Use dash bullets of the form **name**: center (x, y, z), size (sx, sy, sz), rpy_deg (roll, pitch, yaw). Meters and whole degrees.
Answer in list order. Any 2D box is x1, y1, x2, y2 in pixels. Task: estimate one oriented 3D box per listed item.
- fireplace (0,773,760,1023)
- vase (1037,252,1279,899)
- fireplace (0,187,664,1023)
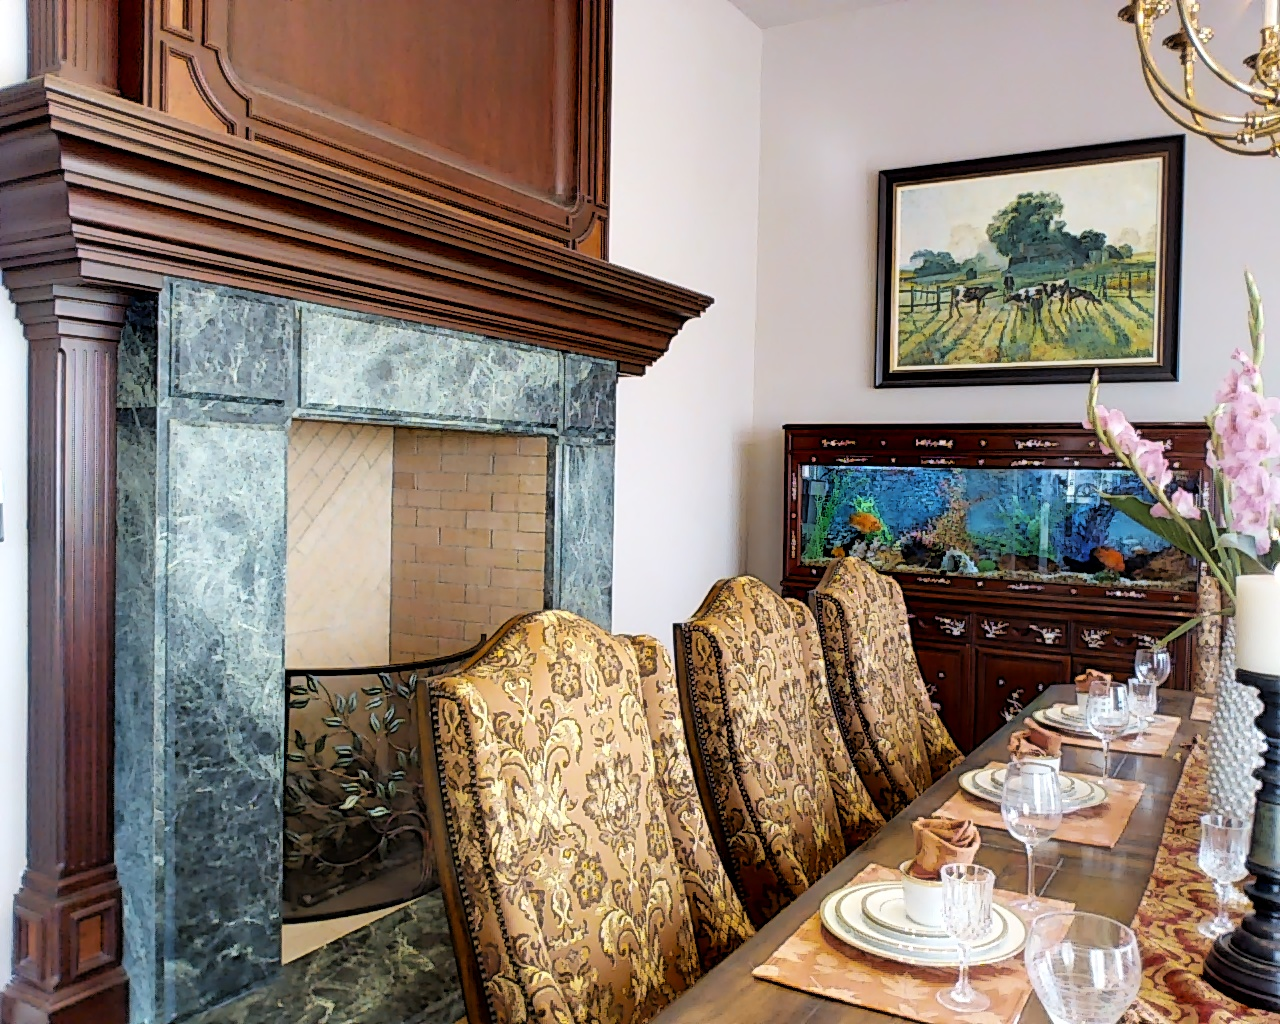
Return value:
- **fireplace**: center (-0.630, 1.250, 3.440), size (1.050, 0.090, 2.560), rpy_deg (2, 2, 31)
- **vase**: center (1.170, 0.090, 1.950), size (0.520, 0.990, 0.680), rpy_deg (0, 2, -14)
- **fireplace**: center (-0.910, 0.280, 3.580), size (0.780, 1.990, 2.570), rpy_deg (2, 2, 31)
